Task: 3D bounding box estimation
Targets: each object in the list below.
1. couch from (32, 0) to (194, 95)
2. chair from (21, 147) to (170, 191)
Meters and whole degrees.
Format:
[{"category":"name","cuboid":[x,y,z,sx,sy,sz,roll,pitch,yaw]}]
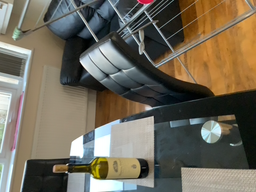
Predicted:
[{"category":"couch","cuboid":[-0.270,-0.750,2.190,1.490,0.900,0.950,-25,59,50]},{"category":"chair","cuboid":[-0.220,0.640,1.600,0.500,0.960,0.400,-9,72,54]}]
